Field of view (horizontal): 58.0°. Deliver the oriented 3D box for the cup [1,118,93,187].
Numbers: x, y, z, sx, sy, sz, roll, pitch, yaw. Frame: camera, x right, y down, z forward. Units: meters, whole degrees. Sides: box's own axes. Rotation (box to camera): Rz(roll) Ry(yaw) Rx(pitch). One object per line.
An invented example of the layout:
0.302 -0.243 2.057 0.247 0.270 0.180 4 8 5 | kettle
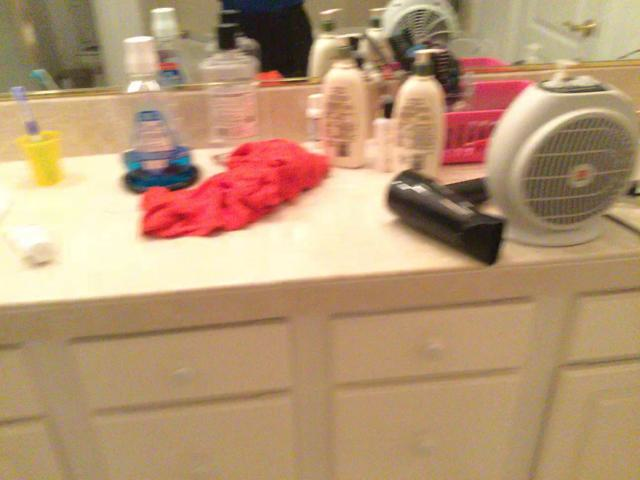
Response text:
-0.540 -0.180 1.160 0.100 0.090 0.180 -3 24 -4 | cup
